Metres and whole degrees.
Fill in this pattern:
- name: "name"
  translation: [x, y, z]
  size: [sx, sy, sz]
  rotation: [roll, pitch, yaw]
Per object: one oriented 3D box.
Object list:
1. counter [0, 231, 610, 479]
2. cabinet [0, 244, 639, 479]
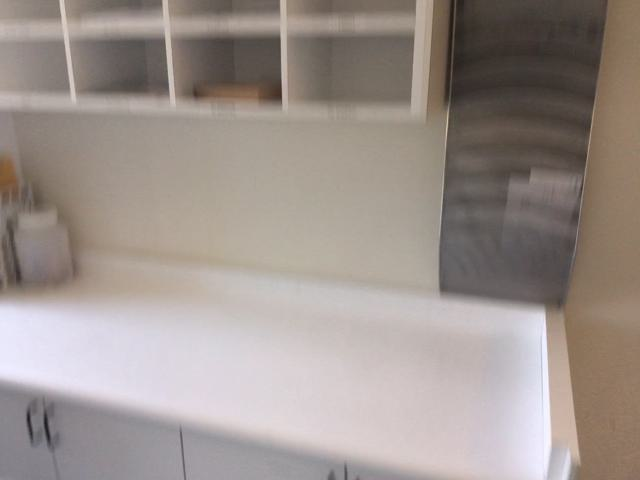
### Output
- name: "counter"
  translation: [-0.600, 0.230, 1.530]
  size: [2.340, 0.220, 0.710]
  rotation: [6, 18, 13]
- name: "cabinet"
  translation: [-0.620, 0.620, 1.590]
  size: [2.440, 0.990, 0.610]
  rotation: [6, 18, 13]
